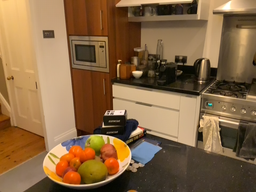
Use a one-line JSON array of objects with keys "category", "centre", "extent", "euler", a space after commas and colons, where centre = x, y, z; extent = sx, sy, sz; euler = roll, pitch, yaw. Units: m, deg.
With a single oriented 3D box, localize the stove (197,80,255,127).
[{"category": "stove", "centre": [1.220, 0.080, 1.910], "extent": [1.000, 0.200, 0.600], "euler": [12, 22, 31]}]
